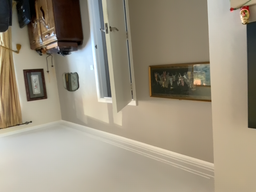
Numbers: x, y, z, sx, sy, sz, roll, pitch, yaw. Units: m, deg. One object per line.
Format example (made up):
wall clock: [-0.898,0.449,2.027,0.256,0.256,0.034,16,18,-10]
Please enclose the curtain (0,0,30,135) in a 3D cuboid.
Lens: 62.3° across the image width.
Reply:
curtain: [-2.470,-0.550,4.040,0.690,2.500,0.410,-12,-170,-40]
